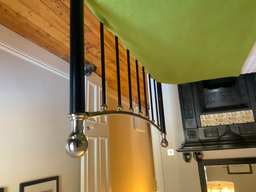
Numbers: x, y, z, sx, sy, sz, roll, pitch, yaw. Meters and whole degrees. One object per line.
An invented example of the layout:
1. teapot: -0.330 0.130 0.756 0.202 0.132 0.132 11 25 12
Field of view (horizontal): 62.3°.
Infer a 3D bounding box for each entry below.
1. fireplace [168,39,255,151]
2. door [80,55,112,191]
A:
1. fireplace: 1.200 0.020 2.680 1.200 1.240 0.390 -8 166 19
2. door: -0.470 0.390 3.150 0.150 1.820 0.720 -7 166 16
